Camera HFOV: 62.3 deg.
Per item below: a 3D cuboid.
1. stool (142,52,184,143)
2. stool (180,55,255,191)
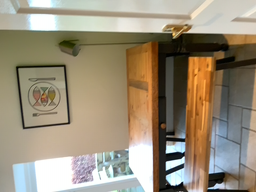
[{"bbox_3d":[0.450,0.000,2.810,0.290,0.450,1.130,-152,59,-71],"label":"stool"},{"bbox_3d":[0.750,0.260,1.810,0.310,0.450,1.180,-144,51,-69],"label":"stool"}]
